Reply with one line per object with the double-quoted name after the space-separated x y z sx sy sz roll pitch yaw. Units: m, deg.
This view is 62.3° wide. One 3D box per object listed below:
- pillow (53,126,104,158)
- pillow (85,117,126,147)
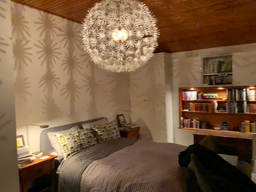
-0.810 0.730 3.530 0.460 0.330 0.670 0 3 36 "pillow"
-0.420 0.680 4.110 0.450 0.420 0.650 -1 3 34 "pillow"
